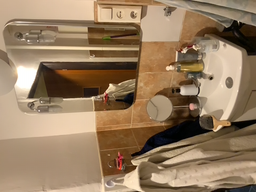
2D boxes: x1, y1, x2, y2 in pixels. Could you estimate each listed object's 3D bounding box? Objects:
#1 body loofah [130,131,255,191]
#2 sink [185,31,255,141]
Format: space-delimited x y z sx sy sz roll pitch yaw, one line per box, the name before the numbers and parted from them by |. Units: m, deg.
body loofah | 0.720 0.350 1.180 0.190 1.400 0.240 -112 23 -55
sink | 0.540 -0.070 1.260 0.400 0.130 0.520 -112 23 -55
